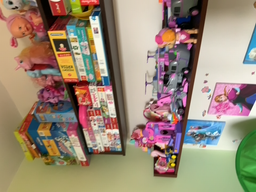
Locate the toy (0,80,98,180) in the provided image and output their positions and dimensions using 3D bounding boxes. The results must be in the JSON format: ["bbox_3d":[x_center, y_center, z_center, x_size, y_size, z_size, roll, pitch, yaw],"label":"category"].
[{"bbox_3d":[-0.510,0.250,1.500,0.370,0.420,0.620,-80,-11,-48],"label":"toy"}]

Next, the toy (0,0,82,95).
[{"bbox_3d":[-0.440,-0.320,1.010,0.220,0.270,0.620,-79,-12,-51],"label":"toy"}]

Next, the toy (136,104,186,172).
[{"bbox_3d":[0.220,0.300,1.480,0.240,0.290,0.440,-81,-11,-46],"label":"toy"}]

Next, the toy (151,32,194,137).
[{"bbox_3d":[0.220,-0.050,1.150,0.270,0.170,0.500,-79,-12,-50],"label":"toy"}]
